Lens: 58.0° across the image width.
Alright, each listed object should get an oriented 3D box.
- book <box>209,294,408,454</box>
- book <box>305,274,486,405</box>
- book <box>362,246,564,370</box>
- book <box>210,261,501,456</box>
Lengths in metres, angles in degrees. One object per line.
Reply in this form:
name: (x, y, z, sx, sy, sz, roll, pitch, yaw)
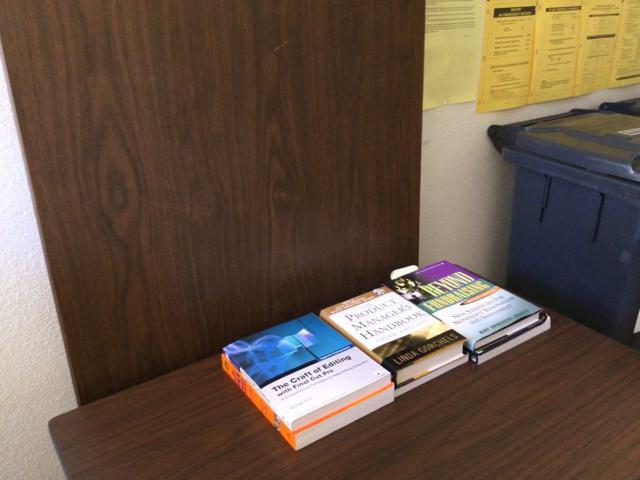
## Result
book: (-0.030, 0.210, 1.000, 0.210, 0.060, 0.310, -18, 26, -28)
book: (0.130, 0.170, 1.090, 0.180, 0.060, 0.310, -18, 26, -28)
book: (0.280, 0.120, 1.180, 0.250, 0.060, 0.310, -18, 26, -28)
book: (0.060, 0.180, 1.050, 0.420, 0.070, 0.310, -18, 26, -28)
